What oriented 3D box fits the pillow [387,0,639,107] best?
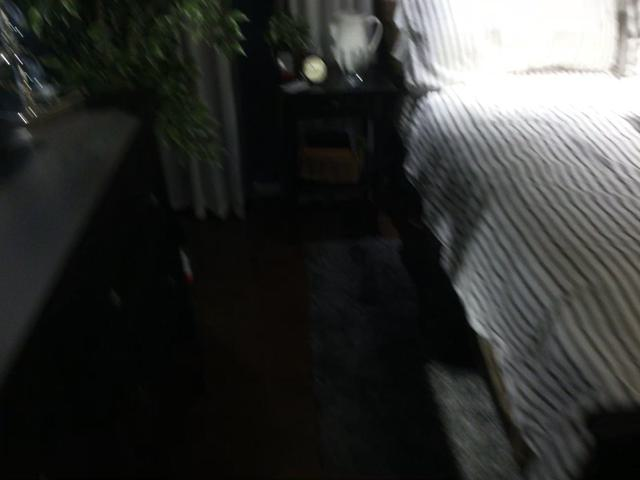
[{"bbox_3d":[0.760,-0.830,2.150,0.960,0.420,0.320,-9,32,3],"label":"pillow"}]

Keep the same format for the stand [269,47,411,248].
[{"bbox_3d":[0.090,-0.390,2.440,0.470,0.660,0.420,-9,32,3],"label":"stand"}]
